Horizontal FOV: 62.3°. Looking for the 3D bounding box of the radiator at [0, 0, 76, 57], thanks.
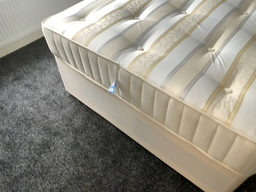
[{"bbox_3d":[-1.070,-0.690,1.940,0.070,0.500,1.360,32,56,25],"label":"radiator"}]
